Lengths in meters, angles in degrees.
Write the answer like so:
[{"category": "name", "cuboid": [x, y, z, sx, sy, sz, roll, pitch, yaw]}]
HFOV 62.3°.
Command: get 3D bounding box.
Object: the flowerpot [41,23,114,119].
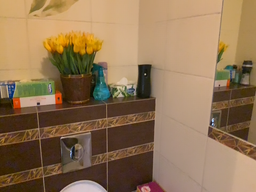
[{"category": "flowerpot", "cuboid": [-0.260, -0.140, 1.100, 0.300, 0.420, 0.230, -7, 16, -30]}]
